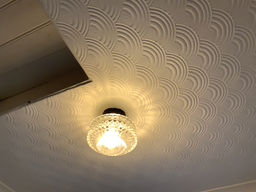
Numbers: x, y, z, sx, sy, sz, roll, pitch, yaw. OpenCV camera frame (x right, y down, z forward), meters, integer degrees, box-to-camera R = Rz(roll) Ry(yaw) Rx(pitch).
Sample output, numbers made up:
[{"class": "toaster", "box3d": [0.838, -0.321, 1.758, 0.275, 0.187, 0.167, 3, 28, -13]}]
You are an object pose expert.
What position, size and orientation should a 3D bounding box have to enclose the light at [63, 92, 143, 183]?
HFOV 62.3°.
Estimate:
[{"class": "light", "box3d": [-0.090, 0.190, 0.950, 0.200, 0.220, 0.300, -21, 124, 16]}]
